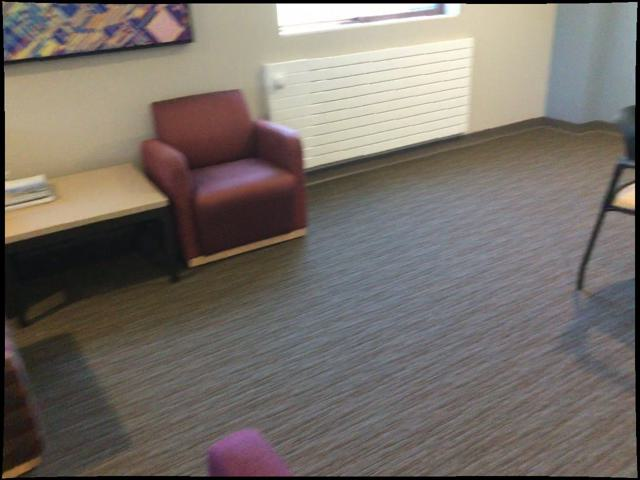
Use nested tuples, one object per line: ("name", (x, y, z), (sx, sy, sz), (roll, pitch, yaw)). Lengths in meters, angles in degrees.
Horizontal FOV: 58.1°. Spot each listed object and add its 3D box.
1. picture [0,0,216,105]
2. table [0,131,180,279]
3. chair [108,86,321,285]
("picture", (-1.287, -1.133, 3.030), (1.428, 0.651, 0.150), (-18, 30, -26))
("table", (-1.227, -0.221, 2.870), (0.809, 0.351, 0.690), (-18, 30, -25))
("chair", (-0.598, -0.371, 3.310), (0.859, 0.752, 0.830), (-19, 30, -27))
